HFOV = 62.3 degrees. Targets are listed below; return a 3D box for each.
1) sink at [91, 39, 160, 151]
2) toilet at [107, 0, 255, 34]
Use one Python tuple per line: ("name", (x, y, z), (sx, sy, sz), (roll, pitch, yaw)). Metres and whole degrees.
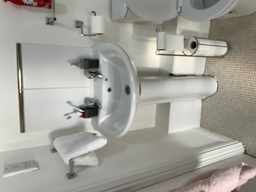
("sink", (-0.040, -0.030, 1.280), (0.410, 0.220, 0.560), (16, 107, 56))
("toilet", (0.370, -0.630, 1.280), (0.660, 0.770, 0.370), (16, 107, 56))
